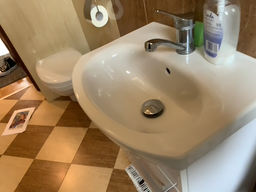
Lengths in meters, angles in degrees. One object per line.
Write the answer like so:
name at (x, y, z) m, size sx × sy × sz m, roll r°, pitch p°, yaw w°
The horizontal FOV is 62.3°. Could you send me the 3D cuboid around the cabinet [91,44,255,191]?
cabinet at (0.160, 0.160, 0.790) m, size 0.300 × 0.480 × 0.480 m, roll -29°, pitch 43°, yaw -16°
